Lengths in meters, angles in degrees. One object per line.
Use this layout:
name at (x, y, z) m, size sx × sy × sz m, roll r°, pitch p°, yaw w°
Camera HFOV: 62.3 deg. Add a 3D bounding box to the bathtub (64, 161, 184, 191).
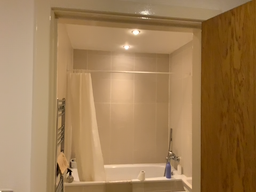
bathtub at (-0.080, 1.400, 3.210) m, size 1.620 × 0.570 × 0.760 m, roll 1°, pitch -1°, yaw -8°
